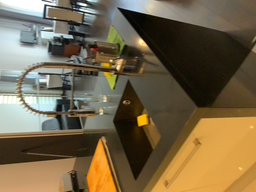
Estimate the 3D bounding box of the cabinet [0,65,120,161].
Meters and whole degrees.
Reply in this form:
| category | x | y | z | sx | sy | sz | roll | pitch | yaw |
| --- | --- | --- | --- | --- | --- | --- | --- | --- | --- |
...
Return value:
| category | x | y | z | sx | sy | sz | roll | pitch | yaw |
| --- | --- | --- | --- | --- | --- | --- | --- | --- | --- |
| cabinet | -1.550 | 0.210 | 3.580 | 1.510 | 2.400 | 0.650 | 63 | 142 | 44 |
